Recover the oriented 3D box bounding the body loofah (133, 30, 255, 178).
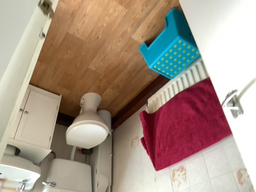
[{"bbox_3d":[0.400,0.100,1.520,0.150,0.660,0.950,23,134,-28],"label":"body loofah"}]

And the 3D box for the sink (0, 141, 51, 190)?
[{"bbox_3d":[-0.990,0.540,1.660,0.610,0.210,0.370,23,134,-28],"label":"sink"}]

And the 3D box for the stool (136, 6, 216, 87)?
[{"bbox_3d":[0.340,-0.350,1.610,0.340,0.270,0.440,21,134,-27],"label":"stool"}]
